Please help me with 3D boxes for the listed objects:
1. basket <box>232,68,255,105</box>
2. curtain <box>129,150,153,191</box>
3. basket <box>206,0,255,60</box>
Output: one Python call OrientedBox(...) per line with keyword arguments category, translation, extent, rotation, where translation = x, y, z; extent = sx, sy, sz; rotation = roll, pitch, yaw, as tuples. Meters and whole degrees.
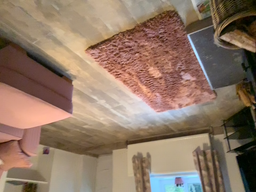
OrientedBox(category="basket", translation=(1.300, -0.100, 2.200), extent=(0.320, 0.220, 0.330), rotation=(-15, 150, 28))
OrientedBox(category="curtain", translation=(0.240, 2.000, 3.770), extent=(0.350, 1.980, 0.290), rotation=(-12, 151, 22))
OrientedBox(category="basket", translation=(0.680, -0.500, 1.290), extent=(0.320, 0.380, 0.300), rotation=(-14, 150, 26))
